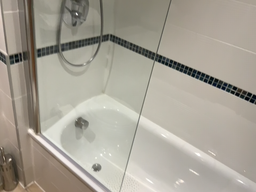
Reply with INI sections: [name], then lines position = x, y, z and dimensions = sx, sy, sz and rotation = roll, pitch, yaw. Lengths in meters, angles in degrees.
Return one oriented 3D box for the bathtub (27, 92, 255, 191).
[bathtub]
position = 0.190, 0.680, 1.350
dimensions = 1.670, 0.530, 0.690
rotation = 30, 37, 25
